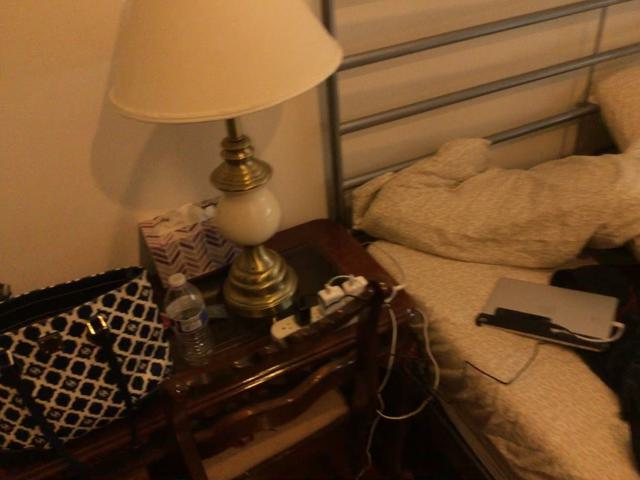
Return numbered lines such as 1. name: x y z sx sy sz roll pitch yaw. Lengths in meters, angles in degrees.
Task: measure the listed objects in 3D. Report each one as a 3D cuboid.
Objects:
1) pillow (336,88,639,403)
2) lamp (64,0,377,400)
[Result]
1. pillow: 0.520 -0.070 1.310 0.740 0.180 0.660 -19 37 -17
2. lamp: -0.160 -0.150 1.030 0.360 0.720 0.370 -19 38 -17
